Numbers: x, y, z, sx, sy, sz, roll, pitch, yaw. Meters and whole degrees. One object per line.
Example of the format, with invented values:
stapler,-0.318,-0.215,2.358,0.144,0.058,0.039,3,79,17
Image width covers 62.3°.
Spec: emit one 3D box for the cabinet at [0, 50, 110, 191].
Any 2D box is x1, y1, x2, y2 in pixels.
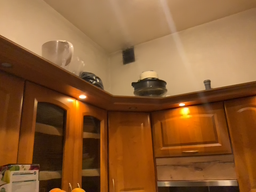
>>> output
cabinet,-0.560,0.270,1.250,0.310,0.780,1.200,-11,-20,25
